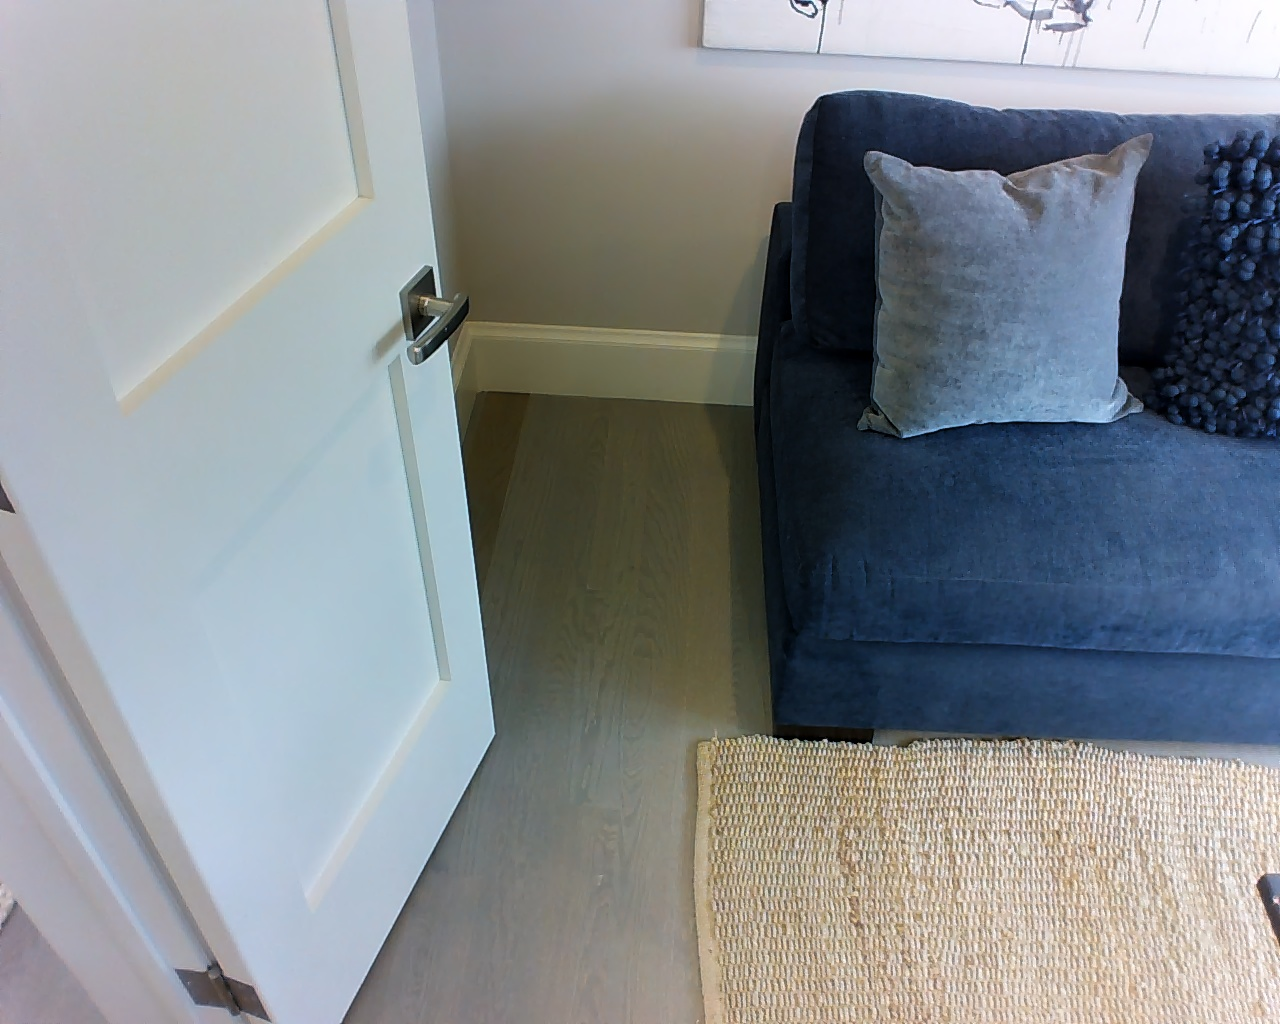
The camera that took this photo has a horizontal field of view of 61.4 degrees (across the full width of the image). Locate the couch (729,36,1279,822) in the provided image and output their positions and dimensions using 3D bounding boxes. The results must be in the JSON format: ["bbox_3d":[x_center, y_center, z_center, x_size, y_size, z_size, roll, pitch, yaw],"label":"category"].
[{"bbox_3d":[0.820,-0.170,1.900,1.210,0.910,1.040,2,42,0],"label":"couch"}]
